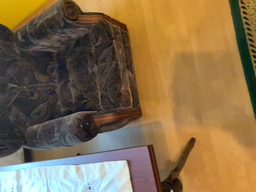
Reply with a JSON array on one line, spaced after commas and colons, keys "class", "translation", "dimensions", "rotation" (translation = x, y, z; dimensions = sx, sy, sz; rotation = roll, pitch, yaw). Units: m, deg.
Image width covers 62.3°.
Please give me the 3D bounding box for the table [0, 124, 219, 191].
[{"class": "table", "translation": [-0.180, 0.600, 1.200], "dimensions": [1.190, 0.630, 0.620], "rotation": [-16, 81, 33]}]
